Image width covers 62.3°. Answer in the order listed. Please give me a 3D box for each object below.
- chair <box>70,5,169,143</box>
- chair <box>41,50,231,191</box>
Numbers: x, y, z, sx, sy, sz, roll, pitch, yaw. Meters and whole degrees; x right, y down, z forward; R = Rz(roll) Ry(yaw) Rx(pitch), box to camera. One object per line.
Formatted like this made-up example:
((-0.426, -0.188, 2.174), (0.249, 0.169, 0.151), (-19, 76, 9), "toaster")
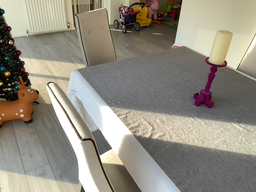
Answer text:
((-0.090, -0.210, 1.970), (0.610, 1.040, 0.490), (23, 39, 26), "chair")
((0.000, 0.370, 1.140), (0.620, 1.030, 0.450), (-18, 40, -28), "chair")
